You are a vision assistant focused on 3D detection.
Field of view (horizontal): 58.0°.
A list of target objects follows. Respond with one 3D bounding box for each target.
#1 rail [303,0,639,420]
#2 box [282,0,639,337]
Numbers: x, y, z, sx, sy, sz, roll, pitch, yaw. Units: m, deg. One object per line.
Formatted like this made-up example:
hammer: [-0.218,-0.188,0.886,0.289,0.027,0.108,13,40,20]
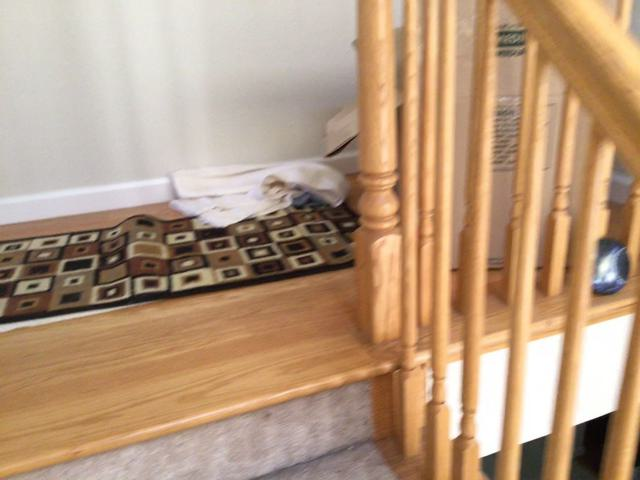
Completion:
rail: [0.550,-0.280,1.050,1.090,0.960,0.400,-7,27,-13]
box: [0.460,-0.300,1.500,0.970,0.660,0.710,-7,27,-13]
